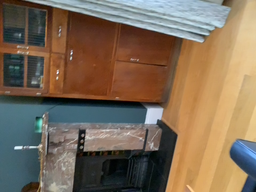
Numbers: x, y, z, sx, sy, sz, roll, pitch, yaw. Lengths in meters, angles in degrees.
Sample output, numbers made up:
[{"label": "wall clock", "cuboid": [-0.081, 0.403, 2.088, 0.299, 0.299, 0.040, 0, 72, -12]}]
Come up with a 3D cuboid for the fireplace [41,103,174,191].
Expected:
[{"label": "fireplace", "cuboid": [-0.360, 1.040, 2.610, 0.750, 1.310, 1.710, -139, 55, -65]}]
